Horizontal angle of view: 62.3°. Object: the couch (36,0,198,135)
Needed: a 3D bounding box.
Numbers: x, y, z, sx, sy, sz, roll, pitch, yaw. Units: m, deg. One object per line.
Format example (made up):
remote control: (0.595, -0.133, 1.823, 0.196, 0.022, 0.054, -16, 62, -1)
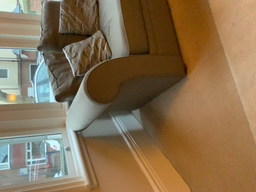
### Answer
couch: (-0.270, -0.570, 1.870, 0.950, 0.960, 1.570, 139, 125, -61)
